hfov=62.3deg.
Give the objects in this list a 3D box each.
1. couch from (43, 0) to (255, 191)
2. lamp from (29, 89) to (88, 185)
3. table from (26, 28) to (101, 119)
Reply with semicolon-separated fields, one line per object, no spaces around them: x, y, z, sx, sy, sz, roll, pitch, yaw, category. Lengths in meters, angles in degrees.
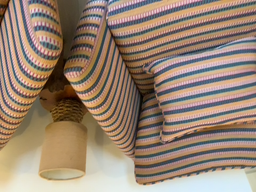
0.280;-0.110;0.970;0.870;0.790;0.820;-10;145;5;couch
-0.300;0.200;1.020;0.210;0.350;0.310;1;145;-10;lamp
-0.330;-0.120;1.210;0.330;0.390;0.320;0;145;-10;table
